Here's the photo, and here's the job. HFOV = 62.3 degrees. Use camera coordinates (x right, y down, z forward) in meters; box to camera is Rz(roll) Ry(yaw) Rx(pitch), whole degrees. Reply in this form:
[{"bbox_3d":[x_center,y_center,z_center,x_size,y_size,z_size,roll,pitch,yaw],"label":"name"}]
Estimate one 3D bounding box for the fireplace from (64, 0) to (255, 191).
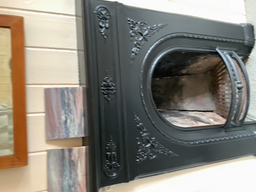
[{"bbox_3d":[0.220,-0.040,1.030,0.320,0.940,0.850,170,97,-65],"label":"fireplace"}]
